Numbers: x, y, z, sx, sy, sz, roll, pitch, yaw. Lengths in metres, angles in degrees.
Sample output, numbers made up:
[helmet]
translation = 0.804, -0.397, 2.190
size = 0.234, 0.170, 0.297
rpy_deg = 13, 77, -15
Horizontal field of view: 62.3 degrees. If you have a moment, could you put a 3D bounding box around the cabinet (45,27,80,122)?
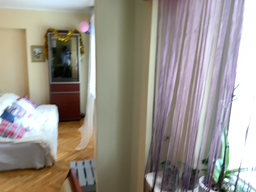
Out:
[cabinet]
translation = -1.450, -0.450, 4.780
size = 0.650, 2.040, 0.300
rpy_deg = -2, 13, -17
